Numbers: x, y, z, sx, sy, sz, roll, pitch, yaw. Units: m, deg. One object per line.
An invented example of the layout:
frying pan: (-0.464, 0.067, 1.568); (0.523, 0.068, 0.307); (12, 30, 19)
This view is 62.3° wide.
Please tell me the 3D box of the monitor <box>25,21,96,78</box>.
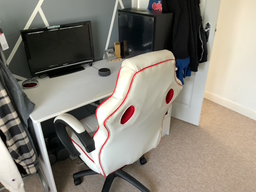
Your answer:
monitor: (-0.500, -0.380, 1.680); (0.520, 0.350, 0.030); (-22, 36, -32)
